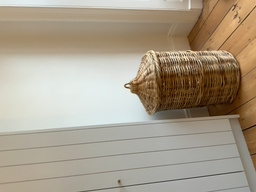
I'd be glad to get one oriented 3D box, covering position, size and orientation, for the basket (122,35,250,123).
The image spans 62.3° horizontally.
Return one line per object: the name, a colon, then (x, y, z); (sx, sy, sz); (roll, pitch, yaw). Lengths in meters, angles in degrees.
basket: (0.390, -0.120, 1.710); (0.500, 0.780, 0.500); (111, 154, -65)
